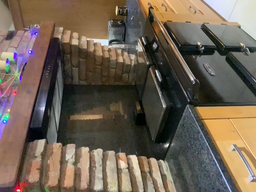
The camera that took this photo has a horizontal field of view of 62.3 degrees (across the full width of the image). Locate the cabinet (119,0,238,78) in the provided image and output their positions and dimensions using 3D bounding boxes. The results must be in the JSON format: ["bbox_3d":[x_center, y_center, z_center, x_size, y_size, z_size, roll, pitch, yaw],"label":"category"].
[{"bbox_3d":[0.430,-0.790,2.390,0.970,0.900,0.690,-102,16,-45],"label":"cabinet"}]
